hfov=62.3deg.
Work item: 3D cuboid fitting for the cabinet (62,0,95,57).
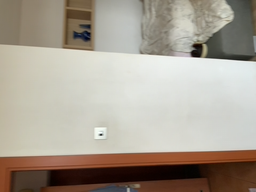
[{"bbox_3d":[-0.740,-1.200,3.220,0.150,0.450,1.210,132,138,-71],"label":"cabinet"}]
